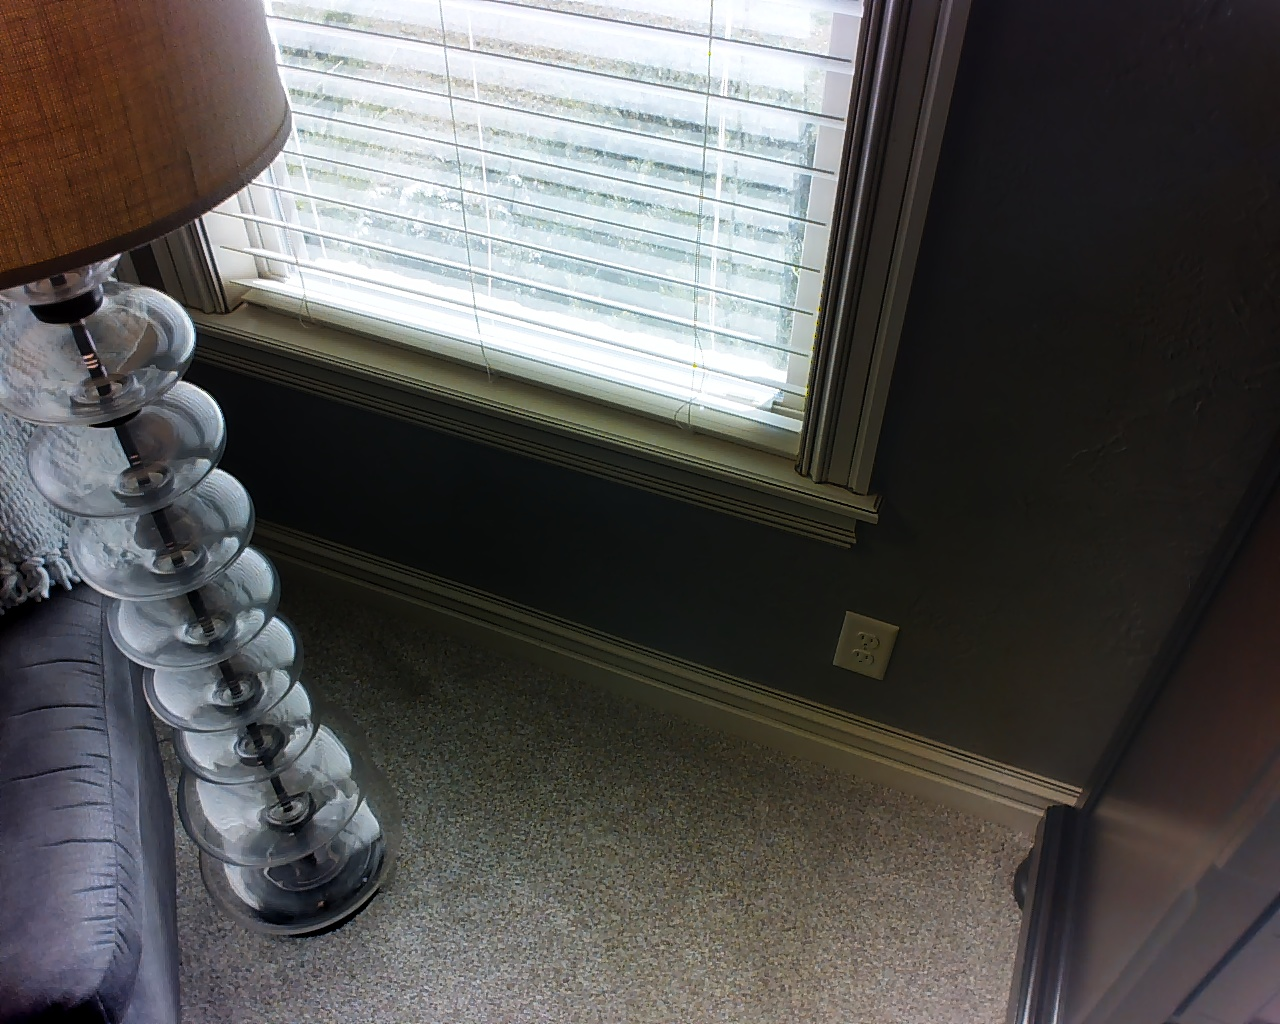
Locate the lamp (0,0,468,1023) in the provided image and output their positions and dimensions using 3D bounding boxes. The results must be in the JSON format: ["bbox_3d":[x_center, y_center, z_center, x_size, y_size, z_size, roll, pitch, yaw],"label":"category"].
[{"bbox_3d":[-0.500,0.060,1.030,0.420,1.410,0.320,15,46,14],"label":"lamp"}]
